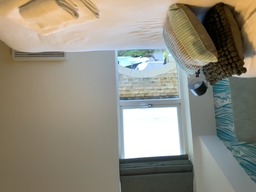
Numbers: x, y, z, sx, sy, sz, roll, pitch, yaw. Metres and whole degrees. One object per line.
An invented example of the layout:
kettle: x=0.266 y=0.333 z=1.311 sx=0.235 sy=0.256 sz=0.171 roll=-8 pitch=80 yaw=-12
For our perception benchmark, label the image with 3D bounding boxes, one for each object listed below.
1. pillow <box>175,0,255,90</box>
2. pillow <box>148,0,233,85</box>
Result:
pillow: x=0.510 y=-0.280 z=1.280 sx=0.150 sy=0.400 sz=0.420 roll=-26 pitch=177 yaw=-8
pillow: x=0.330 y=-0.300 z=1.260 sx=0.150 sy=0.380 sz=0.440 roll=-33 pitch=177 yaw=-9
